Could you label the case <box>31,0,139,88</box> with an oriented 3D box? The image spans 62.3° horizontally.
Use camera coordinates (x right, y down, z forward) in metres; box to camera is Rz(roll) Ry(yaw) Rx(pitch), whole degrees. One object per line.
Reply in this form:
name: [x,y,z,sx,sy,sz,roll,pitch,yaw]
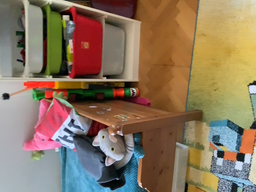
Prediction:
case: [-0.300,-0.350,1.540,0.360,0.650,0.530,14,103,46]
